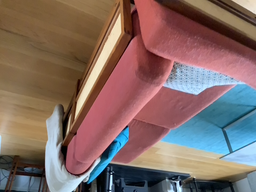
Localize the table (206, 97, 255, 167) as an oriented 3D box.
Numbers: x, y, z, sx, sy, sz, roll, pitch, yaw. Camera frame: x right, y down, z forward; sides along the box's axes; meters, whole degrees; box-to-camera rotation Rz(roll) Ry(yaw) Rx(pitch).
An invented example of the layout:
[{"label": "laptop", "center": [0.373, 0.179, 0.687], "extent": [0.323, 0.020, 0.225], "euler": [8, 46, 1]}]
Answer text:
[{"label": "table", "center": [1.650, 0.510, 2.390], "extent": [1.320, 0.370, 0.650], "euler": [16, 138, -24]}]

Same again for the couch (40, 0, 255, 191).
[{"label": "couch", "center": [0.060, 0.100, 1.420], "extent": [0.840, 0.760, 1.630], "euler": [15, 138, -23]}]
